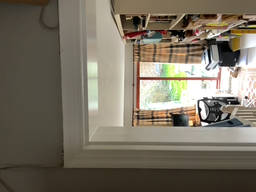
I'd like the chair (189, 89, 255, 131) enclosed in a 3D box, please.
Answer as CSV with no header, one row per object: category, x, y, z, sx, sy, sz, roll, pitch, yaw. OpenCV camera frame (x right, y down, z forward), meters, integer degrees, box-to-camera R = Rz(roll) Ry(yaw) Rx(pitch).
chair,1.750,0.280,3.900,0.660,1.050,0.690,91,180,-80

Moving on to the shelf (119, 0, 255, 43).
shelf,0.870,-1.060,3.060,2.540,1.880,0.330,-89,0,-81
